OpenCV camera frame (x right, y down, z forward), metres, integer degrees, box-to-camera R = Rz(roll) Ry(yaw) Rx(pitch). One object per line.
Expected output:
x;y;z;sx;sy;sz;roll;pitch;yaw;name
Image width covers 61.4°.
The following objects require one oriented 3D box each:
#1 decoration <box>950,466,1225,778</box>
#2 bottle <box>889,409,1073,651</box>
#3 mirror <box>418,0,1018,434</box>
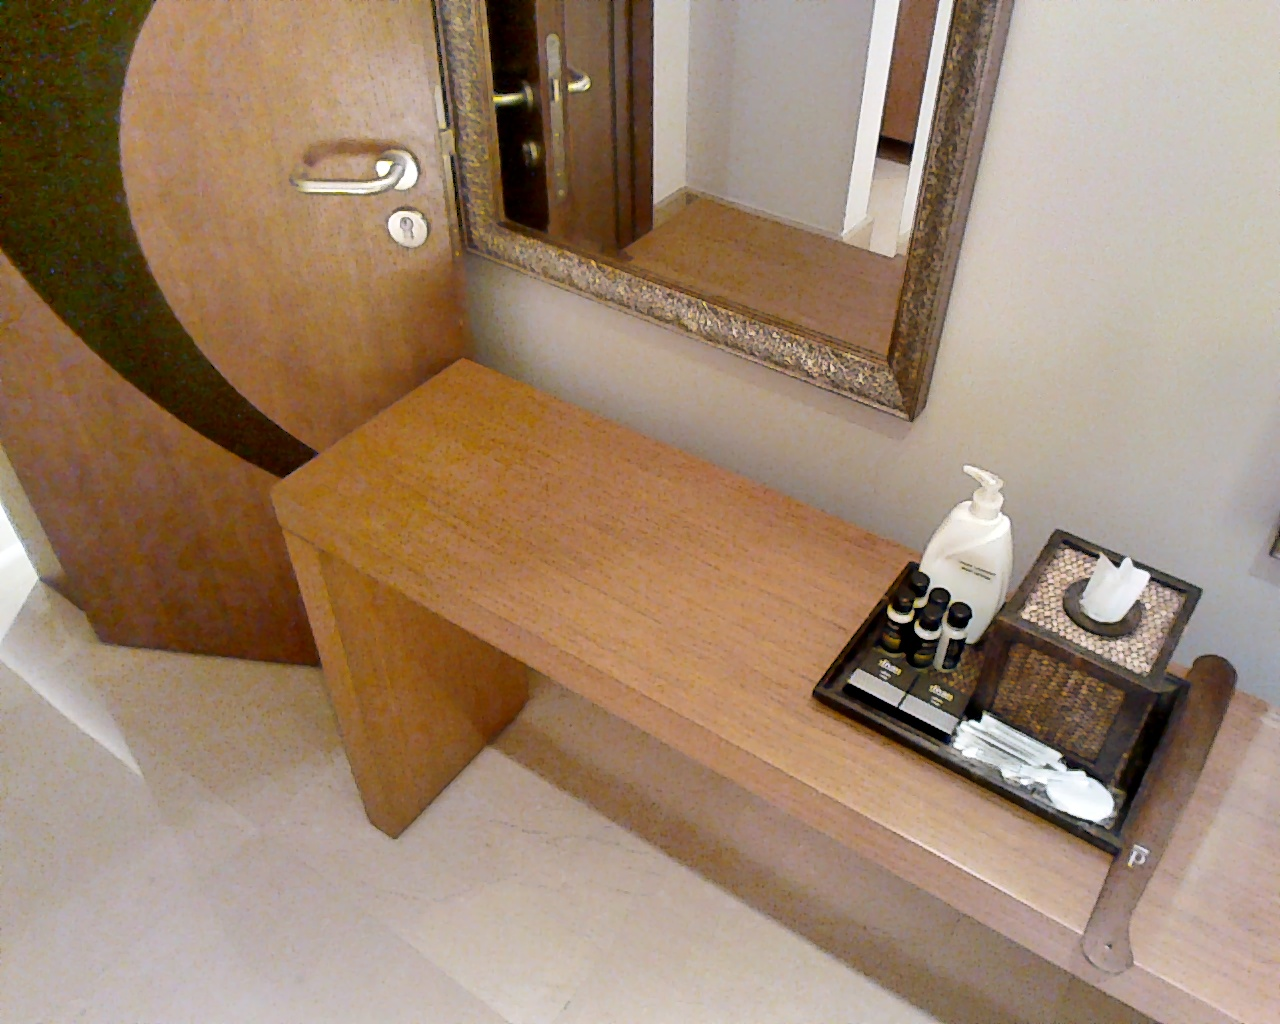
0.410;0.100;1.000;0.150;0.190;0.160;26;48;25;decoration
0.340;0.020;1.090;0.110;0.200;0.100;25;48;24;bottle
0.040;-0.660;1.030;0.690;1.120;0.080;26;48;25;mirror
